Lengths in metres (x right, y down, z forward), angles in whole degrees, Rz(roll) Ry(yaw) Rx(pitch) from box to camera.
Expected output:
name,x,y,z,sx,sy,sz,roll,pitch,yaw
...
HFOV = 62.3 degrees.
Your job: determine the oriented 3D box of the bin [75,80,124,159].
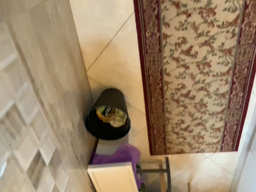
name,x,y,z,sx,sy,sz,roll,pitch,yaw
bin,-0.160,0.140,1.400,0.200,0.440,0.290,-4,125,6
